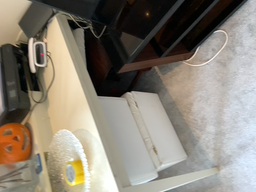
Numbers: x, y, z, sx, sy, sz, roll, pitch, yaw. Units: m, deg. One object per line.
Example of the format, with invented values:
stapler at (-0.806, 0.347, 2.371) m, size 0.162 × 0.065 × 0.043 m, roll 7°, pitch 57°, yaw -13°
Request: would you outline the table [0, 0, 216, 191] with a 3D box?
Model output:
table at (-0.230, 0.110, 1.450) m, size 0.730 × 0.850 × 1.260 m, roll -44°, pitch 59°, yaw 34°
